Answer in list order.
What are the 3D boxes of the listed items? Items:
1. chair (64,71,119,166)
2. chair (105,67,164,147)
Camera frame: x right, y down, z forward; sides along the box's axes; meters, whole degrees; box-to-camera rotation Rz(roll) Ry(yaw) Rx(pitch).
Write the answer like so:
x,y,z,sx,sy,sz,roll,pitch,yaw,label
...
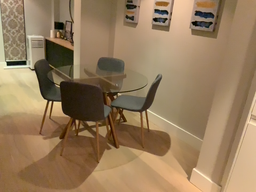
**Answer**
x,y,z,sx,sy,sz,roll,pitch,yaw,label
-0.380,0.210,2.290,0.400,0.810,0.550,9,20,6,chair
0.080,0.110,2.680,0.550,0.810,0.440,13,21,16,chair
